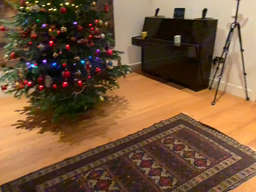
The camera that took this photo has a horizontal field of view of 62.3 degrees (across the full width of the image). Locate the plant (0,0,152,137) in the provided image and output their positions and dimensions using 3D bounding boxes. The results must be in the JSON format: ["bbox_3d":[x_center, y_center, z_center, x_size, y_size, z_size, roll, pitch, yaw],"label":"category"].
[{"bbox_3d":[-0.770,-1.160,2.580,1.380,2.480,1.630,-17,28,-33],"label":"plant"}]
